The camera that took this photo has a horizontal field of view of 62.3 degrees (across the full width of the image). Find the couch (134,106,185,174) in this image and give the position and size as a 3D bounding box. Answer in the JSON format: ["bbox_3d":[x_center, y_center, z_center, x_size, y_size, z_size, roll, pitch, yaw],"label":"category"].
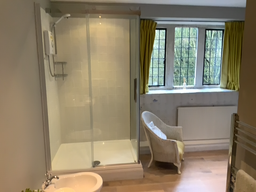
[{"bbox_3d":[0.500,0.620,3.260,0.630,0.760,0.660,4,11,19],"label":"couch"}]
